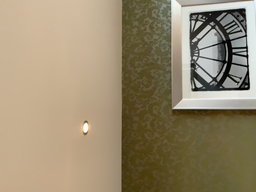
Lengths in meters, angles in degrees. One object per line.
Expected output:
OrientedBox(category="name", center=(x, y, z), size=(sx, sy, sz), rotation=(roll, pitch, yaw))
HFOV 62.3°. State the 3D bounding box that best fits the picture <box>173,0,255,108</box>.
OrientedBox(category="picture", center=(0.770, -0.410, 1.800), size=(0.030, 0.750, 1.020), rotation=(17, -107, -76))
